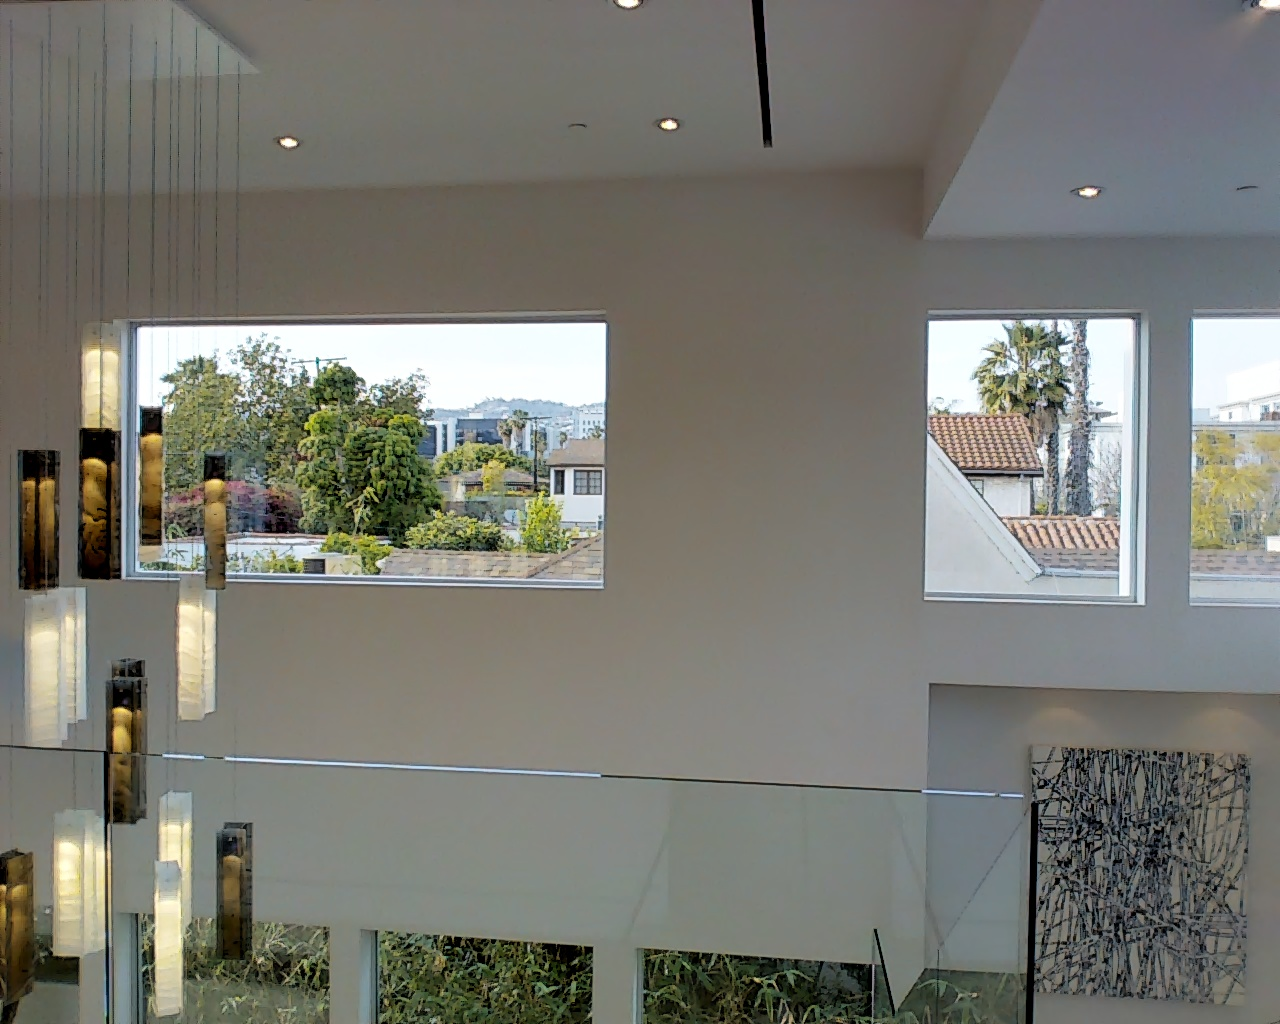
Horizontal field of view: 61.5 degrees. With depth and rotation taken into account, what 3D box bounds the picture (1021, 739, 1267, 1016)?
[{"bbox_3d":[2.469,1.791,5.300,1.110,1.291,0.060,1,1,8],"label":"picture"}]
